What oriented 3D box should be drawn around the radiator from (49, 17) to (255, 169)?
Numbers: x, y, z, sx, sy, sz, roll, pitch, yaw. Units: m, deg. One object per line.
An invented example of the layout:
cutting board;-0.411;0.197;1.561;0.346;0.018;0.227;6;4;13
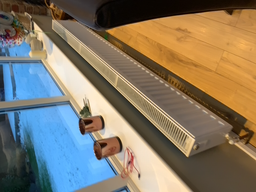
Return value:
radiator;-0.090;-0.290;1.700;2.110;0.450;0.120;42;128;43
